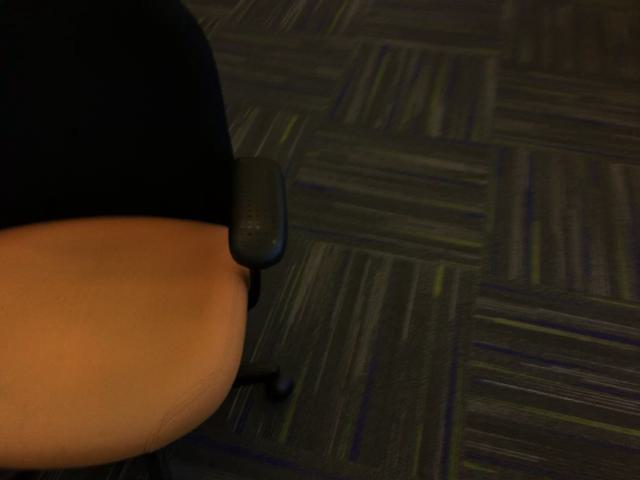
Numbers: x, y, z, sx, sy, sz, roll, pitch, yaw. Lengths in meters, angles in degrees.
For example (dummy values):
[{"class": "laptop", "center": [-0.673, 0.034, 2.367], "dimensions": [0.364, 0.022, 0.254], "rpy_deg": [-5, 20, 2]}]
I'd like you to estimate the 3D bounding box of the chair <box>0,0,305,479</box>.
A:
[{"class": "chair", "center": [-0.400, 0.090, 1.000], "dimensions": [0.680, 0.910, 0.660], "rpy_deg": [0, 40, 2]}]
